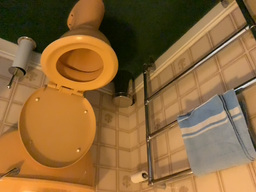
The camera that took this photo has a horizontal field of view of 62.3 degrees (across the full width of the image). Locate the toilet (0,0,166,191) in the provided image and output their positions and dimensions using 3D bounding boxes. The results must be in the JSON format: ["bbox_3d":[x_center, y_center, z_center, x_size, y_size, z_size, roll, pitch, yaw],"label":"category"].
[{"bbox_3d":[-0.310,-0.030,1.160,0.600,0.960,0.680,18,142,-28],"label":"toilet"}]
